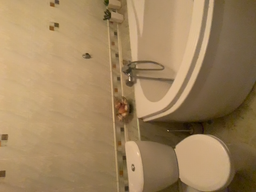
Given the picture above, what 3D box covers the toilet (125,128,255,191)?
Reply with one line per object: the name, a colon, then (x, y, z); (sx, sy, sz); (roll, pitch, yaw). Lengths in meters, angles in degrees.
toilet: (0.470, 0.470, 1.540); (0.630, 0.750, 0.370); (-33, 58, 58)
